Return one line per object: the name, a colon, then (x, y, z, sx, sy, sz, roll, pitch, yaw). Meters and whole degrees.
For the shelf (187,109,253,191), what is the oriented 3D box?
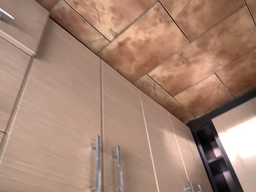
shelf: (0.660, 0.520, 1.420, 0.140, 0.840, 0.350, -34, 131, 26)
